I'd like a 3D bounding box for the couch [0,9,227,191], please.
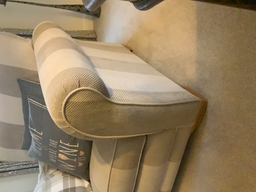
[{"bbox_3d":[-0.330,0.170,1.270,1.020,0.950,1.090,-131,44,-52],"label":"couch"}]
